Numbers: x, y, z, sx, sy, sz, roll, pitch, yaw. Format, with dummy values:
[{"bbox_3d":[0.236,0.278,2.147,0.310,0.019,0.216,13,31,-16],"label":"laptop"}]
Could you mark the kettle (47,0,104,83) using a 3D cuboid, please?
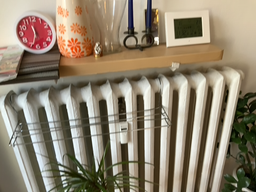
[{"bbox_3d":[-0.190,-0.240,0.800,0.160,0.330,0.170,-6,27,-11],"label":"kettle"}]
